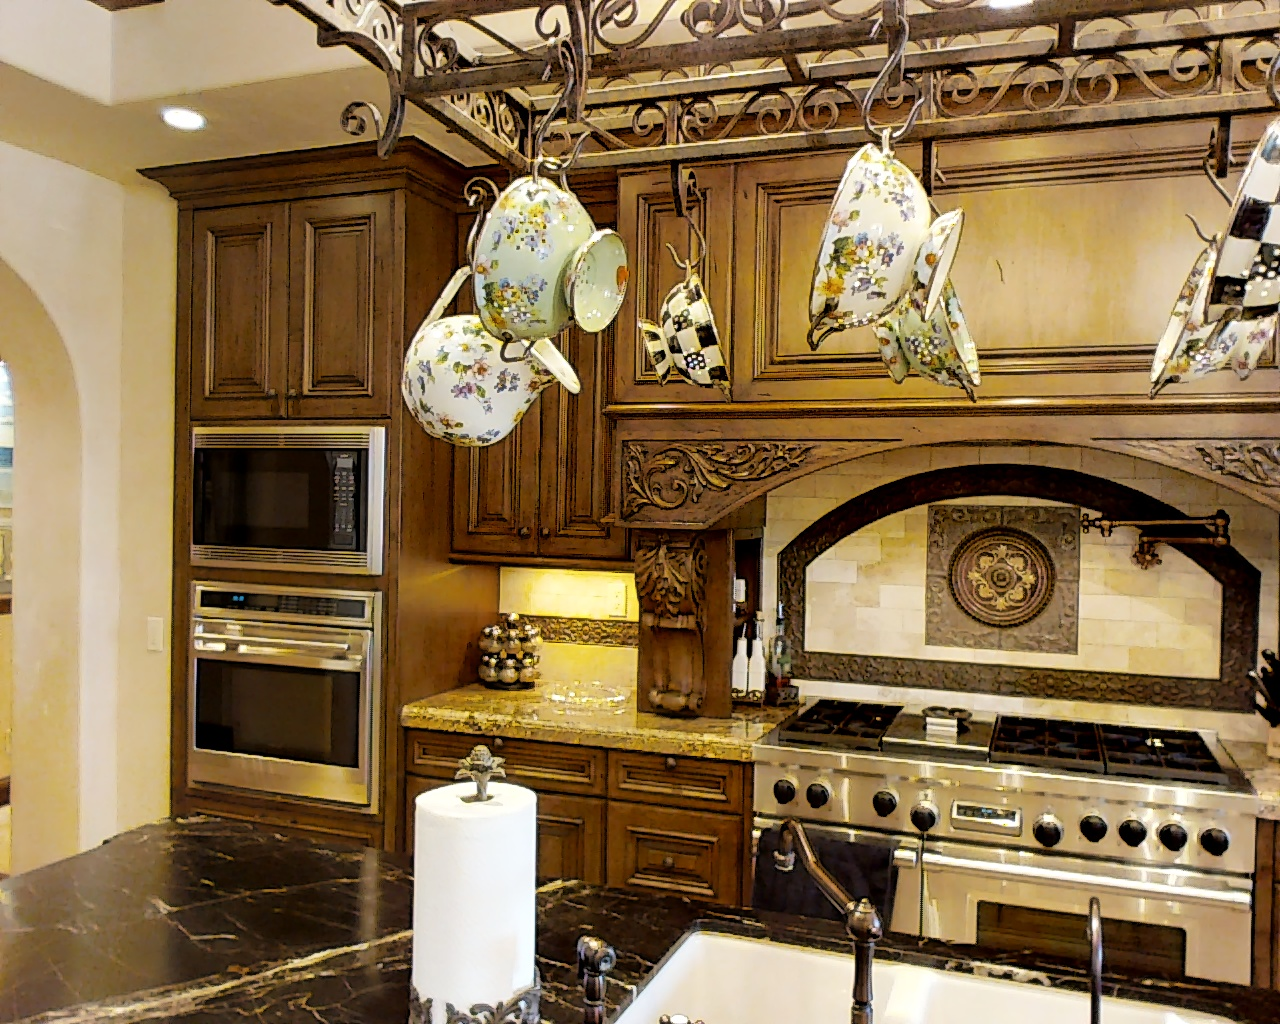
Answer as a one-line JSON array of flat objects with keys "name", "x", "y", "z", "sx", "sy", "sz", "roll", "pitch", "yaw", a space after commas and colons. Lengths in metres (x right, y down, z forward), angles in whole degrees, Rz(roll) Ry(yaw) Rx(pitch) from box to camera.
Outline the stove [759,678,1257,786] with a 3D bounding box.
[{"name": "stove", "x": 1.010, "y": 0.600, "z": 3.050, "sx": 1.210, "sy": 0.070, "sz": 0.630, "roll": 1, "pitch": 1, "yaw": 21}]
